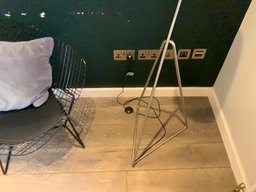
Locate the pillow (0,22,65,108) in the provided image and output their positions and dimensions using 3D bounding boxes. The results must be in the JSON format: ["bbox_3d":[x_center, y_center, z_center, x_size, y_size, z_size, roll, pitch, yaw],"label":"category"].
[{"bbox_3d":[-0.700,-0.150,1.270,0.490,0.360,0.350,-13,86,-5],"label":"pillow"}]
